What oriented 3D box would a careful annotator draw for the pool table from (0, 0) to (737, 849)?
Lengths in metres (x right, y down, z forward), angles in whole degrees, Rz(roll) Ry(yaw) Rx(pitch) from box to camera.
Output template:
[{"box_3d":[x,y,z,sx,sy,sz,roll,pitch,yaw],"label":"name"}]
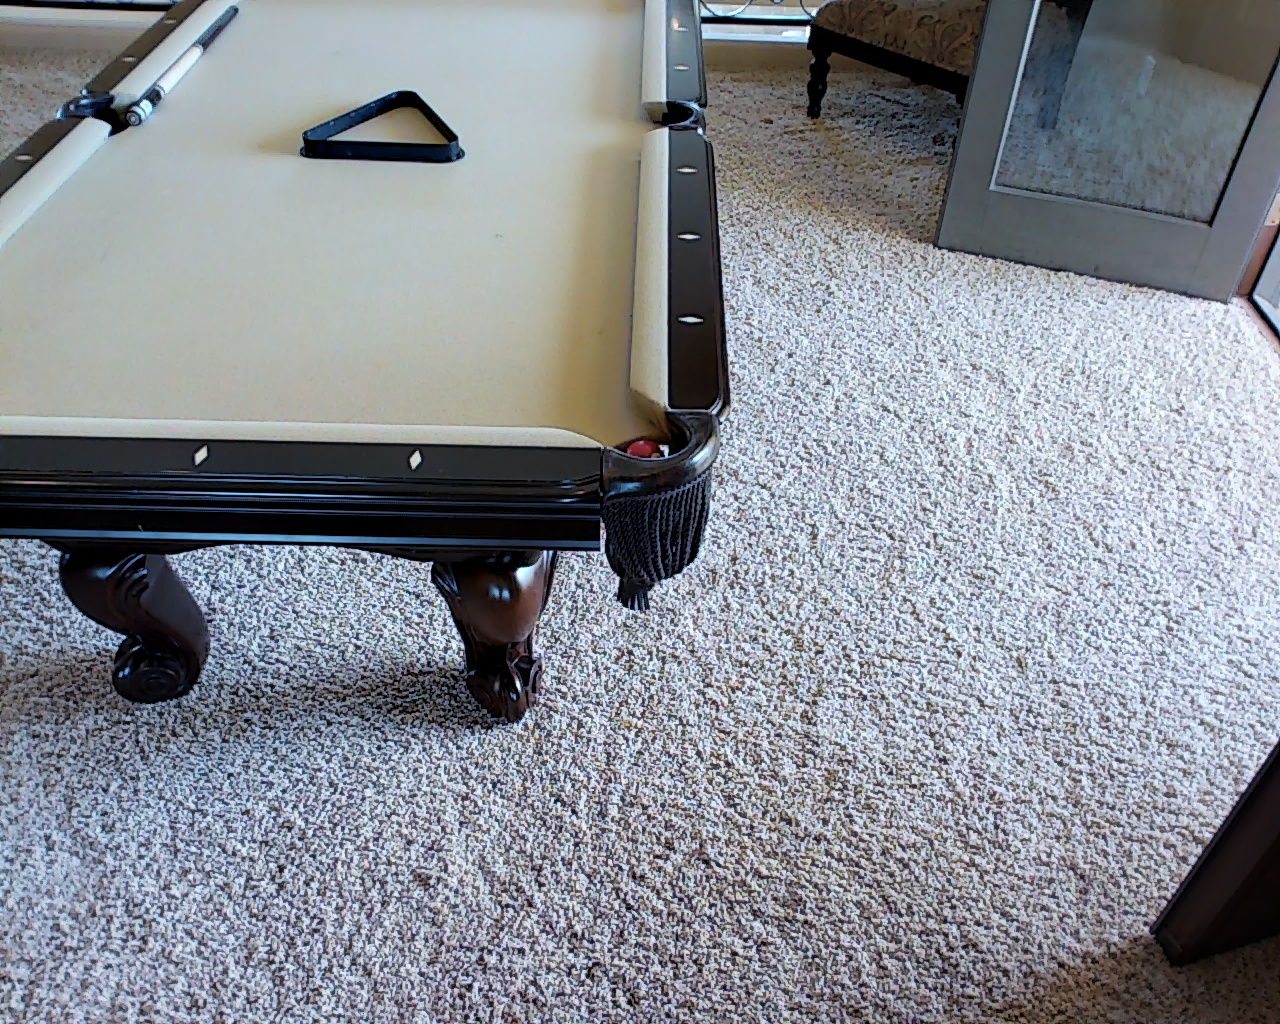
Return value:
[{"box_3d":[-0.520,-0.550,2.330,1.351,0.740,2.350,2,41,1],"label":"pool table"}]
